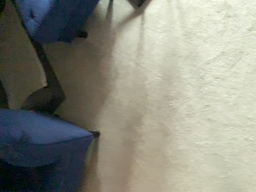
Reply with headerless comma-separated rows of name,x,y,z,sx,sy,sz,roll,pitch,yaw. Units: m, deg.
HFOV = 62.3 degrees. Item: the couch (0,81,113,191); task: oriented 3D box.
couch,-0.880,0.490,1.360,0.830,1.120,0.980,24,104,32
